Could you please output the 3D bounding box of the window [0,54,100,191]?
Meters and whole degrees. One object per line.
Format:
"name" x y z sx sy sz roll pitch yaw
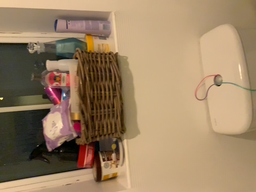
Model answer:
"window" -0.590 0.140 0.880 0.110 0.880 0.610 159 106 -70
